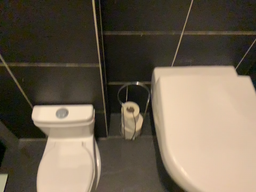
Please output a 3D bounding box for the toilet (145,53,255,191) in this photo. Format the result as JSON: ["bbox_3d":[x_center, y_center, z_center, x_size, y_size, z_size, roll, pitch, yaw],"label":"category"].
[{"bbox_3d":[0.300,0.190,0.940,0.390,0.480,0.560,2,56,-1],"label":"toilet"}]

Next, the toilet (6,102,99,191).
[{"bbox_3d":[-0.270,0.300,0.900,0.250,0.370,0.410,0,56,-3],"label":"toilet"}]
